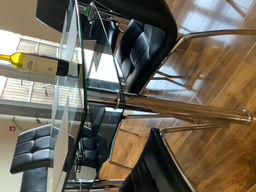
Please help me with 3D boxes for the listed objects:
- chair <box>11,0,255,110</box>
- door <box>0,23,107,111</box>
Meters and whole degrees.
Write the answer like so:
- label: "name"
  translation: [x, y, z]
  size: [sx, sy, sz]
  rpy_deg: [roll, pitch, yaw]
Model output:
- label: "chair"
  translation: [0.050, -0.320, 0.970]
  size: [0.550, 0.960, 0.410]
  rpy_deg: [121, 148, -41]
- label: "door"
  translation: [-1.540, -0.380, 3.300]
  size: [0.070, 2.140, 1.320]
  rpy_deg: [-110, 36, -48]
